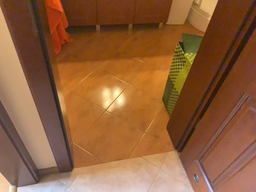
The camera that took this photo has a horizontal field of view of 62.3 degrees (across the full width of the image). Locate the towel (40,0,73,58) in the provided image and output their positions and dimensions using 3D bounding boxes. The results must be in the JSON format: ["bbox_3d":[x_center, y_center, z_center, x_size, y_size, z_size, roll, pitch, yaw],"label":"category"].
[{"bbox_3d":[-0.610,-0.880,1.710,0.190,1.190,0.320,-7,50,-13],"label":"towel"}]
